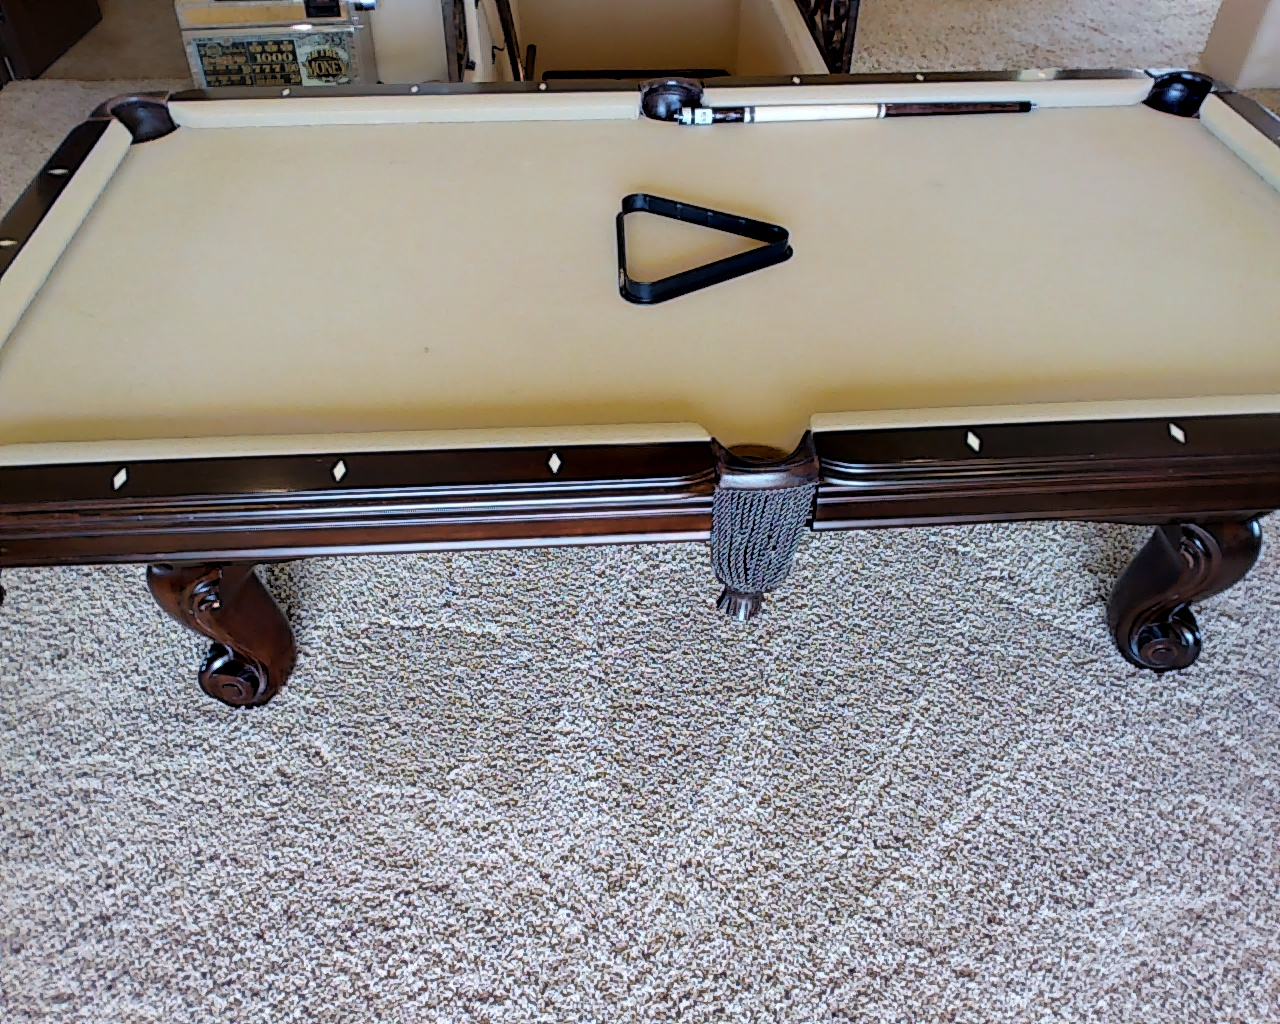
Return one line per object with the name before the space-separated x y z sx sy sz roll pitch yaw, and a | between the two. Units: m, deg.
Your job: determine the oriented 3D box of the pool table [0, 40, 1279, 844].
pool table | 0.110 -0.240 1.970 2.351 0.740 1.350 -2 42 -2
